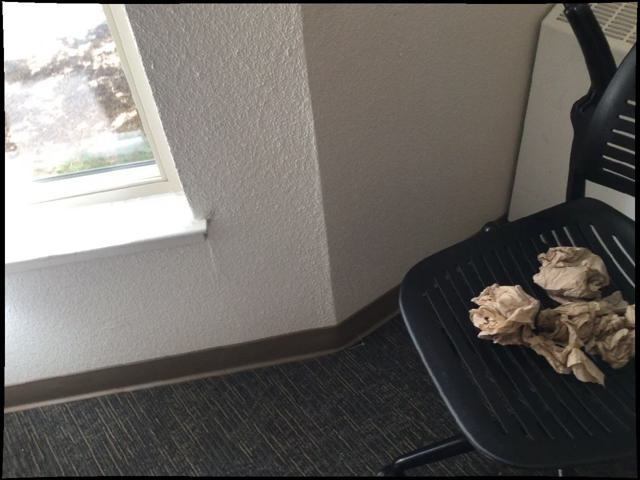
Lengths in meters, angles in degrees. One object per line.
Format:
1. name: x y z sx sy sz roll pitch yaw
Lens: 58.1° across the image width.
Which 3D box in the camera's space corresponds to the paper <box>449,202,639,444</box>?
1. paper: 0.419 0.110 0.930 0.320 0.110 0.260 -32 49 -26
